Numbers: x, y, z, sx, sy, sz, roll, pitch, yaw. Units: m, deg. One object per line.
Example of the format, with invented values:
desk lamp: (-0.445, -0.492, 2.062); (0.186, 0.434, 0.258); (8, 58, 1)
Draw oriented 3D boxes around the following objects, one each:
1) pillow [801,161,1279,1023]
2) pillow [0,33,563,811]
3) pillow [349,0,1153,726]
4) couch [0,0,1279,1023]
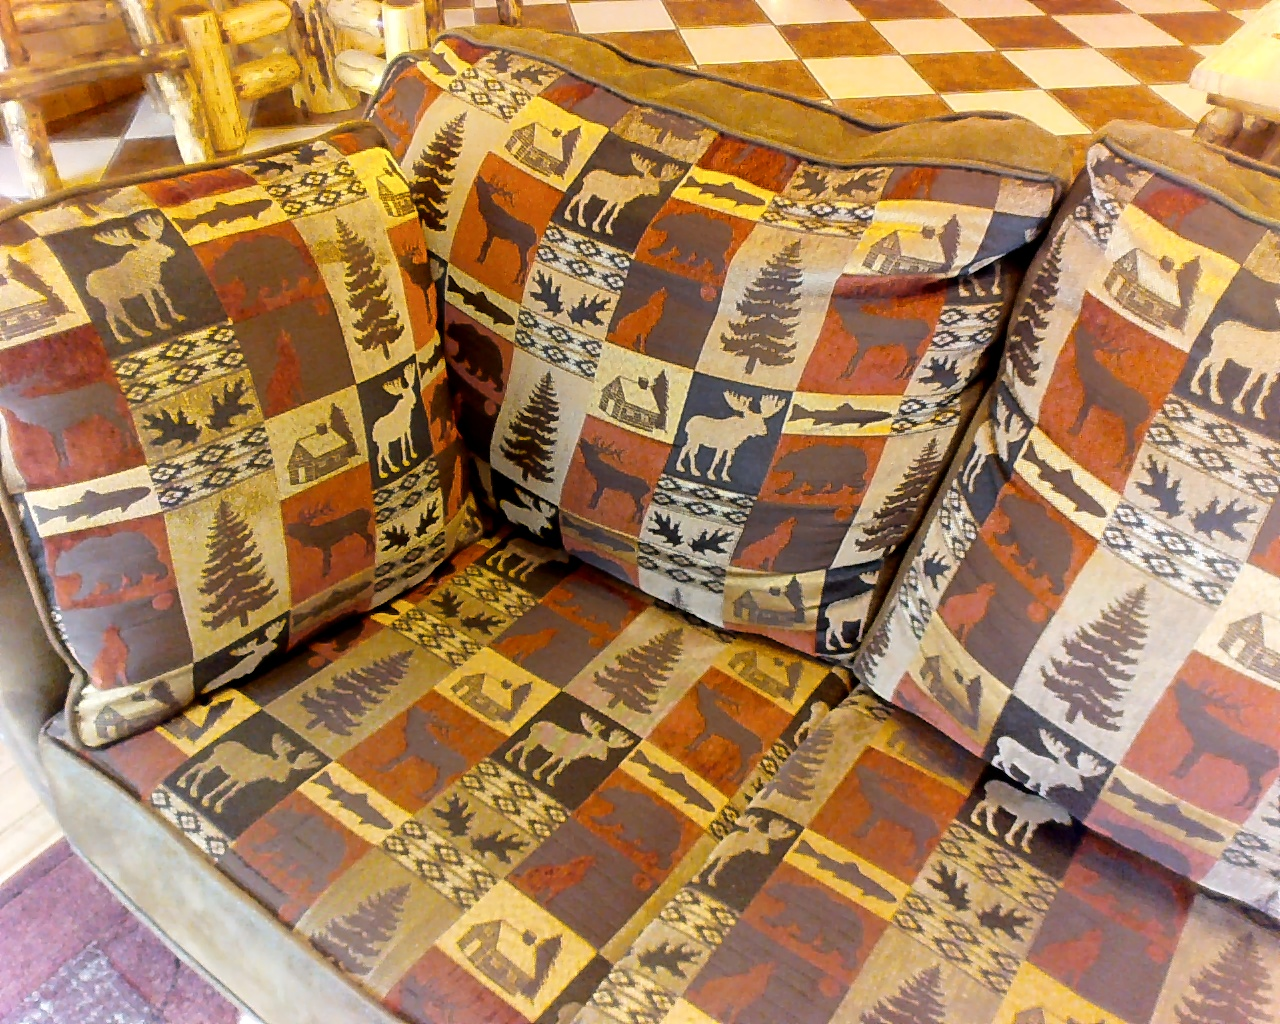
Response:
pillow: (0.520, 0.070, 0.850); (0.570, 0.500, 0.310); (27, 21, 27)
pillow: (-0.340, -0.110, 0.950); (0.230, 0.420, 0.560); (26, 47, 25)
pillow: (0.090, -0.200, 1.060); (0.550, 0.490, 0.390); (26, 47, 26)
couch: (0.400, 0.300, 0.840); (2.320, 0.860, 1.030); (25, 47, 25)
